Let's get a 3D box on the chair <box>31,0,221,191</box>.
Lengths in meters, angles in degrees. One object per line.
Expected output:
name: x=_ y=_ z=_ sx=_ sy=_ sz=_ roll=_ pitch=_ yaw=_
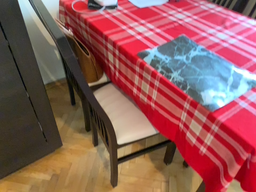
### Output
chair: x=-0.030 y=0.020 z=1.090 sx=0.570 sy=0.970 sz=0.380 roll=-21 pitch=48 yaw=-23
